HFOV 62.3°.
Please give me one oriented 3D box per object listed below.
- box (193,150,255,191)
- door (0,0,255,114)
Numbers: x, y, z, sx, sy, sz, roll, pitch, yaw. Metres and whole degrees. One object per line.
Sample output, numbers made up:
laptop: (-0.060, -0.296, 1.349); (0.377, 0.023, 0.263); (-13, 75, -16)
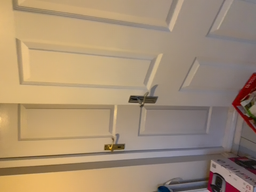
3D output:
box: (0.760, 0.620, 1.440); (0.430, 0.410, 0.340); (-157, 70, -69)
door: (0.150, -0.220, 0.960); (0.030, 1.970, 0.760); (-113, 31, -50)
